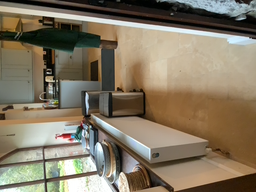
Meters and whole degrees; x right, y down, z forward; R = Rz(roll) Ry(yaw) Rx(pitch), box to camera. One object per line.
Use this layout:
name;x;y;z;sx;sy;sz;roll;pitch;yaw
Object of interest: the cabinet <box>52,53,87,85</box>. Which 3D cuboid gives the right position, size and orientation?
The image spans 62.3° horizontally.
cabinet;-1.720;-0.770;6.190;0.570;0.900;0.860;-170;80;-66
